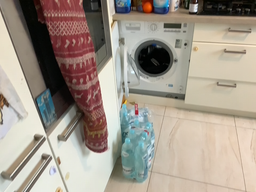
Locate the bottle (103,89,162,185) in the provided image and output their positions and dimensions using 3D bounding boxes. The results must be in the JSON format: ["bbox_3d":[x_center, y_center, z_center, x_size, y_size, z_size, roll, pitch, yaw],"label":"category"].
[{"bbox_3d":[0.070,0.260,1.580,0.270,0.300,0.650,7,37,13],"label":"bottle"}]
